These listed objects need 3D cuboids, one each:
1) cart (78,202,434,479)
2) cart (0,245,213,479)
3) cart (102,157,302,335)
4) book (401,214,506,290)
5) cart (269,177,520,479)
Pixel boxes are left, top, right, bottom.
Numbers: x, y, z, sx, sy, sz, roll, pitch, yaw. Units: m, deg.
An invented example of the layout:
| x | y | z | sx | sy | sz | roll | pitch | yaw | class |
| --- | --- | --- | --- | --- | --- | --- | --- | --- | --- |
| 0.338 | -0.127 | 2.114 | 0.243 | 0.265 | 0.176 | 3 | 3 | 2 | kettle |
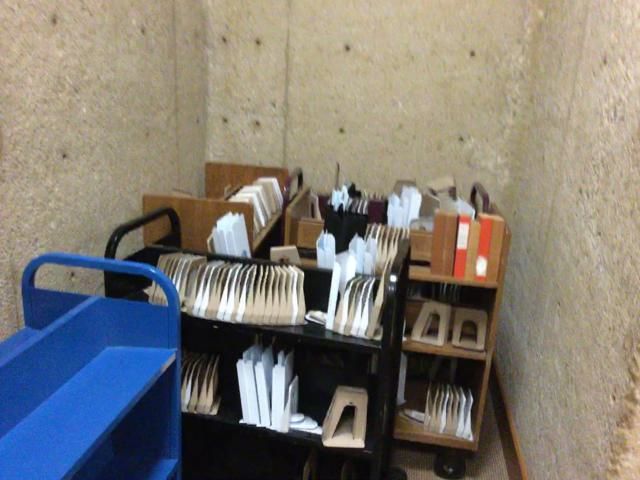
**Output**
| x | y | z | sx | sy | sz | roll | pitch | yaw | class |
| --- | --- | --- | --- | --- | --- | --- | --- | --- | --- |
| -0.150 | 0.490 | 2.040 | 1.000 | 1.080 | 0.660 | 4 | 17 | 9 | cart |
| -0.680 | 0.680 | 1.300 | 0.530 | 1.050 | 1.050 | 3 | 17 | 9 | cart |
| -0.440 | -0.050 | 2.620 | 0.510 | 0.470 | 1.120 | 3 | 17 | 9 | cart |
| 0.470 | 0.040 | 2.070 | 0.340 | 0.230 | 0.110 | 4 | 17 | 9 | book |
| 0.280 | 0.350 | 2.420 | 0.870 | 1.110 | 0.520 | 4 | 17 | 9 | cart |
